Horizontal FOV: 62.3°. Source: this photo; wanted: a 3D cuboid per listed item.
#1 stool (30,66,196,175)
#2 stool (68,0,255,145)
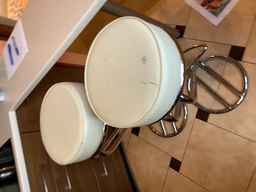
[{"bbox_3d":[-0.020,0.110,1.190,0.340,0.850,0.340,-36,68,36],"label":"stool"},{"bbox_3d":[0.230,-0.070,0.970,0.360,0.850,0.340,-32,70,37],"label":"stool"}]
